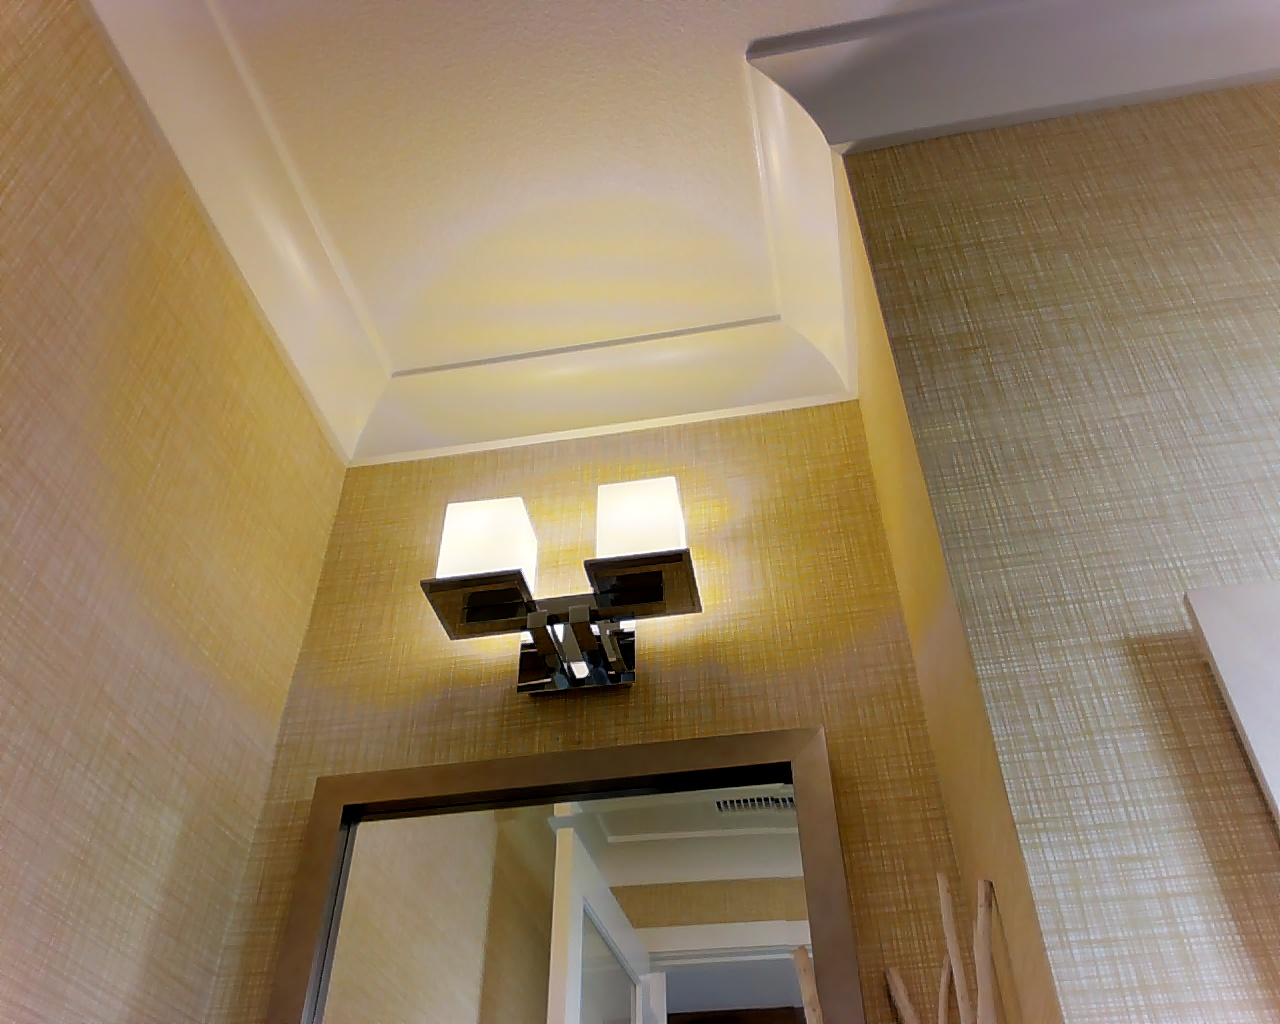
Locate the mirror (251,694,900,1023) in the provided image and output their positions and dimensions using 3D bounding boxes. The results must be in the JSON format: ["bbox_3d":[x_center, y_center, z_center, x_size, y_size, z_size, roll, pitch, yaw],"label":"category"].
[{"bbox_3d":[-0.070,0.620,0.960,0.630,0.930,0.110,-6,-42,9],"label":"mirror"}]
